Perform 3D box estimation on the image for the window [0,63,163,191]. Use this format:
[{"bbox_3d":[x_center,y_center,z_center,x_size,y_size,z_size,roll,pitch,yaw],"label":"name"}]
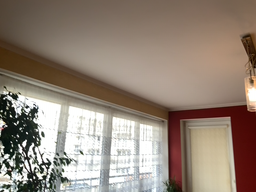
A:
[{"bbox_3d":[-0.400,1.300,3.070,0.260,2.510,3.730,-7,-17,33],"label":"window"}]
